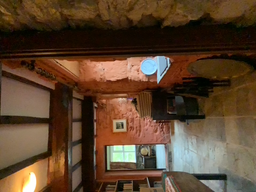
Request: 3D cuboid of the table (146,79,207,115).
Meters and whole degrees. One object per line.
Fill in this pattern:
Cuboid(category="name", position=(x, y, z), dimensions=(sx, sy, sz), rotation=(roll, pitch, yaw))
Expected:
Cuboid(category="table", position=(0.770, 0.060, 3.750), dimensions=(1.140, 0.800, 0.500), rotation=(88, 180, -83))
